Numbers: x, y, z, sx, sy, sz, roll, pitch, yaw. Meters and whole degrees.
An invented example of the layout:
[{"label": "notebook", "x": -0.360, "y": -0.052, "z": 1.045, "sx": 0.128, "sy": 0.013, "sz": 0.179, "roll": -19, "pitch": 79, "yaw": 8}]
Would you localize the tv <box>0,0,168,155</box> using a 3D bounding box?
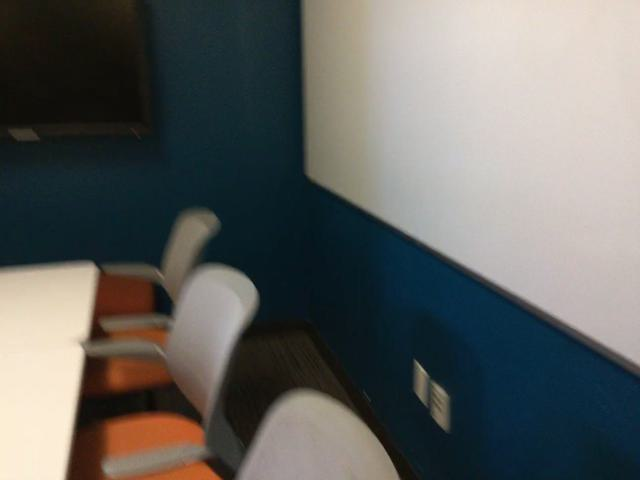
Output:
[{"label": "tv", "x": -1.150, "y": -0.750, "z": 2.530, "sx": 0.890, "sy": 0.720, "sz": 0.220, "roll": -4, "pitch": 14, "yaw": -17}]
